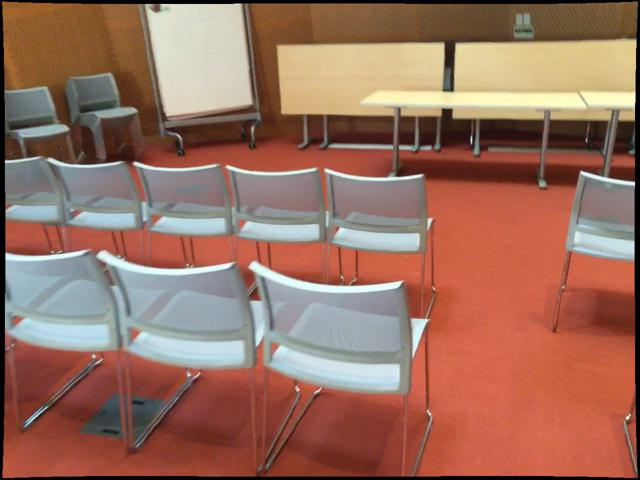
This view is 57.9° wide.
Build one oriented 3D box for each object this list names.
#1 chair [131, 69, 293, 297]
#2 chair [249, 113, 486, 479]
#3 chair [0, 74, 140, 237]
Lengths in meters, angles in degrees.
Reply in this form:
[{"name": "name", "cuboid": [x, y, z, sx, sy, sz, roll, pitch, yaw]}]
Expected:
[{"name": "chair", "cuboid": [-0.509, -0.310, 3.040, 0.559, 0.991, 0.570, 8, 31, 14]}, {"name": "chair", "cuboid": [0.170, 0.170, 1.800, 0.500, 0.921, 0.640, 9, 31, 16]}, {"name": "chair", "cuboid": [-1.469, -0.501, 3.280, 0.520, 0.701, 0.570, 11, 32, 18]}]
